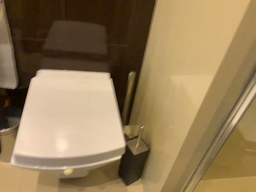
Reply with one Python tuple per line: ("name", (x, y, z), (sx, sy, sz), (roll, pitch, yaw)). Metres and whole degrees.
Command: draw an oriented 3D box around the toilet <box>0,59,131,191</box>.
("toilet", (-0.250, 0.180, 0.980), (0.380, 0.460, 0.550), (2, 39, -12))
